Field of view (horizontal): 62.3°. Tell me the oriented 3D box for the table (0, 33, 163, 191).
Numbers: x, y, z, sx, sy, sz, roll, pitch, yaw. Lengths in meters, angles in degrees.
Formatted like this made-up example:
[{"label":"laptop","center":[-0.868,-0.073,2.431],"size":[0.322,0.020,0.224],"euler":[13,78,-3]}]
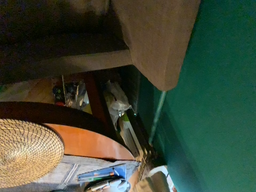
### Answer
[{"label":"table","center":[-0.530,0.280,1.280],"size":[1.010,0.770,1.030],"euler":[-5,133,-19]}]
